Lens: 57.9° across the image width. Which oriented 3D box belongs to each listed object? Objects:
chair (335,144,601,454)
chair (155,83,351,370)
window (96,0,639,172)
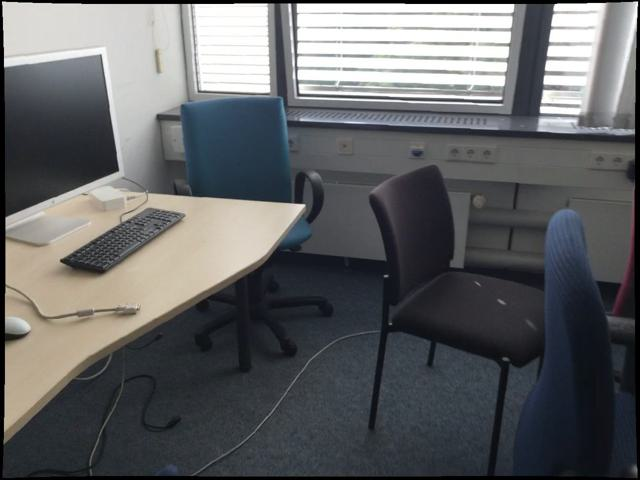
[{"bbox_3d":[0.480,0.130,1.900,0.659,0.681,0.610,12,28,25],"label":"chair"},{"bbox_3d":[-0.300,-0.110,2.510,0.639,0.951,0.750,-8,26,-16],"label":"chair"},{"bbox_3d":[0.909,-1.051,2.370,3.517,1.251,0.960,5,26,13],"label":"window"}]
